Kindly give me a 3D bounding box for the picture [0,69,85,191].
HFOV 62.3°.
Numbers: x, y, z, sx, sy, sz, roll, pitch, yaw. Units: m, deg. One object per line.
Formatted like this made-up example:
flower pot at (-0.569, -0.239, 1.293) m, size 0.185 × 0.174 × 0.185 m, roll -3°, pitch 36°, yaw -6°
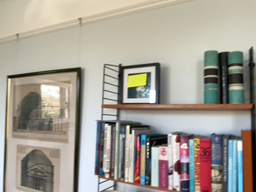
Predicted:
picture at (-0.760, 0.330, 1.800) m, size 0.900 × 1.050 × 0.060 m, roll -1°, pitch -6°, yaw 29°
